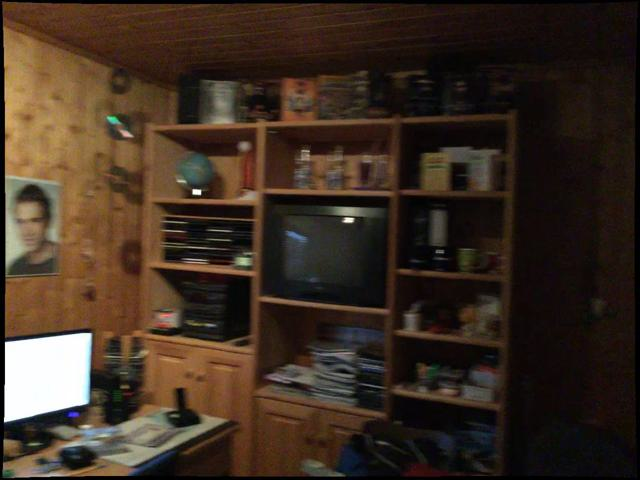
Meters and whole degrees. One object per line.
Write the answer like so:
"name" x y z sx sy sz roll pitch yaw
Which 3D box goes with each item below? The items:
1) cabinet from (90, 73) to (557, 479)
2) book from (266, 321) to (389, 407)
"cabinet" -0.060 0.430 2.860 2.108 2.222 0.670 4 3 25
"book" 0.050 0.581 2.810 0.430 0.250 0.470 4 3 24
